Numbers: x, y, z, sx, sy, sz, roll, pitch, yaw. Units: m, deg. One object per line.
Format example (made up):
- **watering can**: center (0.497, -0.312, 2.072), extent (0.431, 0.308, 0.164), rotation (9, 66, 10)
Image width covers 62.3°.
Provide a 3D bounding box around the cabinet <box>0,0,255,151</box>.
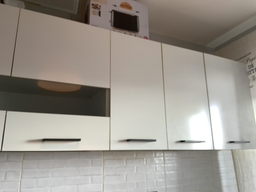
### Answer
- **cabinet**: center (-0.050, -0.020, 1.140), extent (1.760, 0.600, 0.290), rotation (7, -17, -25)
